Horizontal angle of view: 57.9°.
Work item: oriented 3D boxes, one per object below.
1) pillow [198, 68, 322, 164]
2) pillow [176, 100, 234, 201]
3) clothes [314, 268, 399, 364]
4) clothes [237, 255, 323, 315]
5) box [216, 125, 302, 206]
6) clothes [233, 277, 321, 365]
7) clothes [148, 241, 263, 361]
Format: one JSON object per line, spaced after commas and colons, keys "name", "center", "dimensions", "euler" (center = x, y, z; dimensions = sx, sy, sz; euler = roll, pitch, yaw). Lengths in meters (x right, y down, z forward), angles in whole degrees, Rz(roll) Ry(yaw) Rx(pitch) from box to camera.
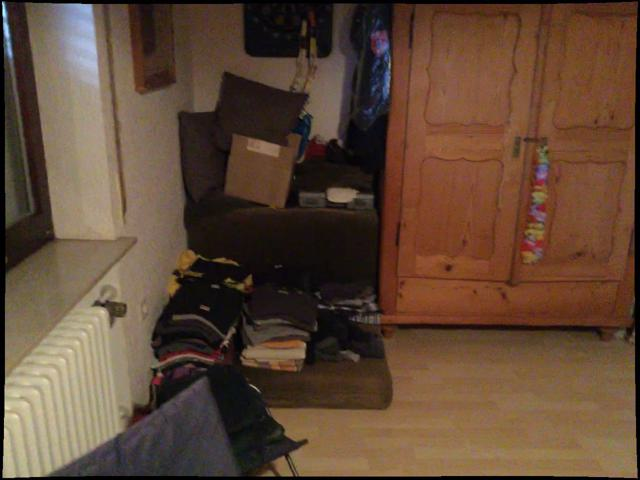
{"name": "pillow", "center": [-0.280, -0.641, 2.950], "dimensions": [0.579, 0.430, 0.350], "euler": [0, 21, 0]}
{"name": "pillow", "center": [-0.579, -0.470, 2.970], "dimensions": [0.190, 0.440, 0.410], "euler": [0, 21, 0]}
{"name": "clothes", "center": [0.150, 0.330, 2.680], "dimensions": [0.350, 0.180, 0.600], "euler": [0, 21, 0]}
{"name": "clothes", "center": [-0.180, 0.210, 2.800], "dimensions": [0.390, 0.150, 0.360], "euler": [0, 21, 0]}
{"name": "box", "center": [-0.300, -0.390, 2.990], "dimensions": [0.400, 0.360, 0.290], "euler": [0, 21, 0]}
{"name": "clothes", "center": [-0.170, 0.340, 2.500], "dimensions": [0.350, 0.240, 0.350], "euler": [0, 21, 0]}
{"name": "clothes", "center": [-0.490, 0.250, 2.670], "dimensions": [0.380, 0.260, 0.710], "euler": [0, 21, 0]}
